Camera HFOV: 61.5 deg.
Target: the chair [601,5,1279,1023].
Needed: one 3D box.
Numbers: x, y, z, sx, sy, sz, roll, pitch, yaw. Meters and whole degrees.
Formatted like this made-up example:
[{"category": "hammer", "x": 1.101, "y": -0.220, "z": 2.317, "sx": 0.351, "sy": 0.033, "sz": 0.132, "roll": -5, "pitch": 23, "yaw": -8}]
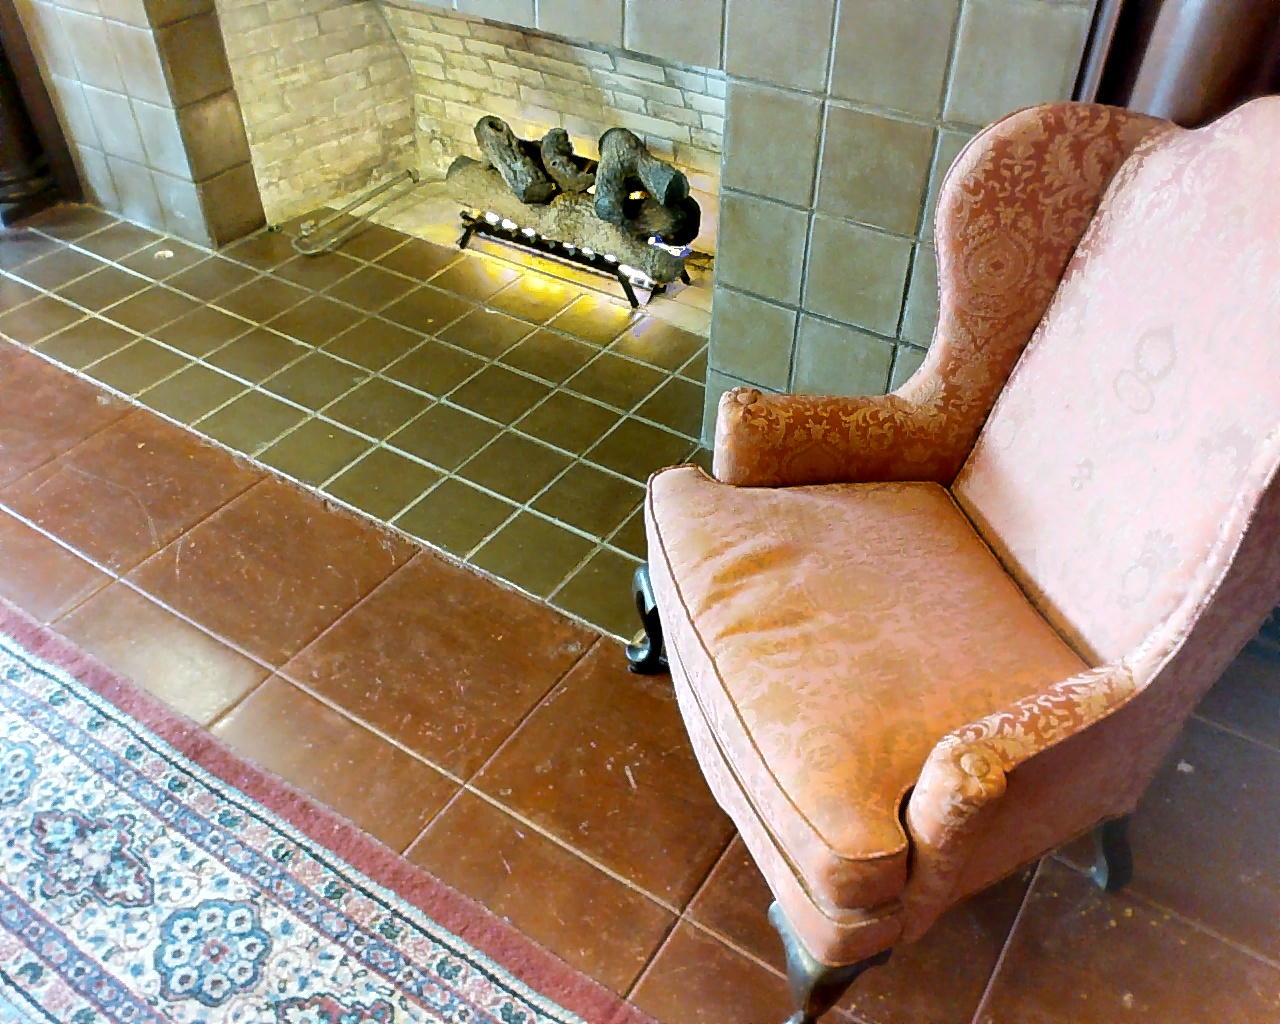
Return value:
[{"category": "chair", "x": 0.450, "y": 0.040, "z": 1.510, "sx": 0.810, "sy": 1.120, "sz": 0.830, "roll": -10, "pitch": 43, "yaw": -12}]
